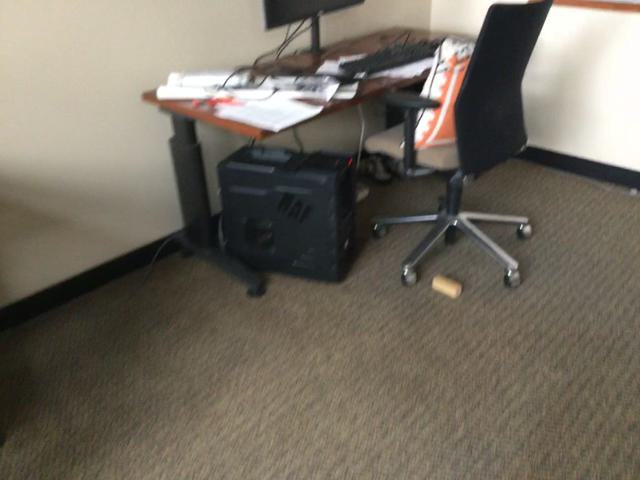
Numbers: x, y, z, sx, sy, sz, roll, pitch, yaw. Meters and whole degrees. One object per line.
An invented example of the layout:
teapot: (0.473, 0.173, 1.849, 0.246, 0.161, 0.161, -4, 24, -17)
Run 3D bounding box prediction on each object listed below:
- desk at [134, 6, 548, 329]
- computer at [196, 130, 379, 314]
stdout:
desk: (0.220, -0.480, 2.570, 0.730, 0.780, 1.730, 22, 39, 40)
computer: (-0.120, -0.100, 2.290, 0.550, 0.480, 0.410, 22, 39, 40)
